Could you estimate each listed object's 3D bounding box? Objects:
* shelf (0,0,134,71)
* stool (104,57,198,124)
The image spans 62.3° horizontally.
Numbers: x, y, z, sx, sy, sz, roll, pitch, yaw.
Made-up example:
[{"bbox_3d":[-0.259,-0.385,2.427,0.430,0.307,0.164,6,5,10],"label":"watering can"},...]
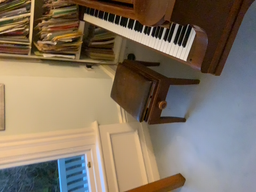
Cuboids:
[{"bbox_3d":[-0.960,-0.780,2.110,0.460,1.990,0.850,38,122,48],"label":"shelf"},{"bbox_3d":[0.170,-0.070,1.800,0.530,0.500,0.350,38,121,48],"label":"stool"}]
